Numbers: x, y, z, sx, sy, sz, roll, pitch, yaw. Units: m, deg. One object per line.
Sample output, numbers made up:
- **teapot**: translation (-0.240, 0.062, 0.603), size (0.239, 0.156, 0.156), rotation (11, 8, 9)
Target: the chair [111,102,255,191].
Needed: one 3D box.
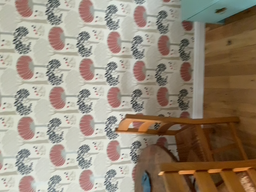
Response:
- **chair**: translation (0.430, 0.430, 1.880), size (0.440, 1.020, 0.600), rotation (115, 149, -54)
